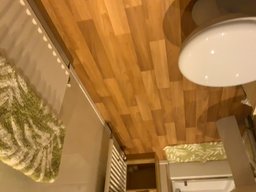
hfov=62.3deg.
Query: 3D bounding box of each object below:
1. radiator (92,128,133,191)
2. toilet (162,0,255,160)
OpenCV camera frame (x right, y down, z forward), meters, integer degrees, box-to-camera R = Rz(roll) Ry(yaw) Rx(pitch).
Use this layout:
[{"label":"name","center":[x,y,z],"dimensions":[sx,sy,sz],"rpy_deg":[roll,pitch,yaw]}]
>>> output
[{"label":"radiator","center":[-0.120,0.860,2.060],"dimensions":[0.160,0.850,0.690],"rpy_deg":[-8,140,13]},{"label":"toilet","center":[0.510,-0.180,0.950],"dimensions":[0.630,0.770,0.390],"rpy_deg":[-7,141,11]}]
